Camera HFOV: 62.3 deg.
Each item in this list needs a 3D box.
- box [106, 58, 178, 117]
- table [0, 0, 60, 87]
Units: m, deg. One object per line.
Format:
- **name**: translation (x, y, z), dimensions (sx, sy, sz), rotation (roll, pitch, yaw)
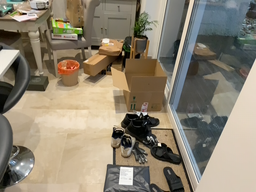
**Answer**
- **box**: translation (0.120, -0.100, 2.260), dimensions (0.660, 0.380, 0.470), rotation (4, 36, -3)
- **table**: translation (-1.840, -0.720, 2.530), dimensions (1.760, 0.790, 0.920), rotation (2, 36, -6)
